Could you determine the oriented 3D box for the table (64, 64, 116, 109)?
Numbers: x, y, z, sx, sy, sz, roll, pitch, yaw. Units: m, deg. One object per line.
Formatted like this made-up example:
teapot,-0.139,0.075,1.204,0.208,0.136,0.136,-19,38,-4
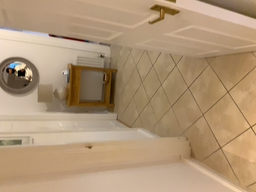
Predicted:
table,-0.660,-0.160,3.710,0.390,0.780,0.710,10,97,62
